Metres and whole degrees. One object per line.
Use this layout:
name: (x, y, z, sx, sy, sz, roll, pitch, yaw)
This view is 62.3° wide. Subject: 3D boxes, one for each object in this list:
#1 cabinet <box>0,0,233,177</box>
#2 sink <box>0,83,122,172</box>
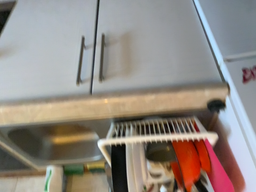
cabinet: (-0.090, -0.150, 1.110, 0.790, 0.900, 0.600, -6, 144, 4)
sink: (-0.260, 0.170, 0.930, 0.400, 0.160, 0.460, -6, 144, 4)
